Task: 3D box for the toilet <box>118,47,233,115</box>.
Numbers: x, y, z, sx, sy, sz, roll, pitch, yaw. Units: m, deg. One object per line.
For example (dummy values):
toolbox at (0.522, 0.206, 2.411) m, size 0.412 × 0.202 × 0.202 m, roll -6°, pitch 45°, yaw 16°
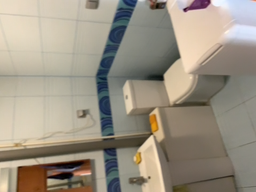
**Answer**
toilet at (0.420, -0.110, 2.130) m, size 0.690 × 0.840 × 0.350 m, roll 127°, pitch 138°, yaw -59°
